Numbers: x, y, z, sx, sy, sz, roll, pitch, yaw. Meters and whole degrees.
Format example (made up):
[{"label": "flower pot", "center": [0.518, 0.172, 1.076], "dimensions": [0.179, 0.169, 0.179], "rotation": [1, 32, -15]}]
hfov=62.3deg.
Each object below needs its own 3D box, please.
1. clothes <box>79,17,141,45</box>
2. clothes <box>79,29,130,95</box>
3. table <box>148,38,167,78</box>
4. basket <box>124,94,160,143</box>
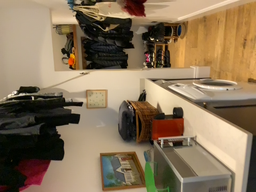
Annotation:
[{"label": "clothes", "center": [-0.360, -1.110, 3.760], "dimensions": [1.170, 0.930, 0.380], "rotation": [-129, 37, -74]}, {"label": "clothes", "center": [-0.460, -0.700, 4.380], "dimensions": [0.300, 0.970, 1.270], "rotation": [-126, 35, -73]}, {"label": "table", "center": [0.630, -0.820, 4.600], "dimensions": [0.290, 0.320, 0.820], "rotation": [-127, 36, -73]}, {"label": "basket", "center": [0.140, 0.230, 2.490], "dimensions": [0.630, 0.270, 0.360], "rotation": [-124, 33, -72]}]
